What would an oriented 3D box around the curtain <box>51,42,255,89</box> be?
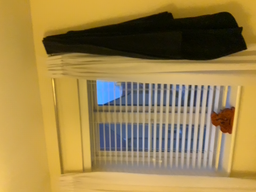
[{"bbox_3d":[0.590,-0.210,1.410,0.200,2.140,0.290,-79,-11,-75],"label":"curtain"}]
